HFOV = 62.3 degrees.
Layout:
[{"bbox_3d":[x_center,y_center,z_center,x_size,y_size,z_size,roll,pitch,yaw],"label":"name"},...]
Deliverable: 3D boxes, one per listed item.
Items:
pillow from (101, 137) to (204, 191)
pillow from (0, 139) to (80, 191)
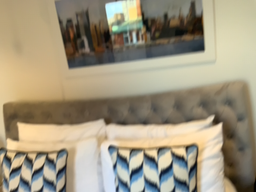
[{"bbox_3d":[0.140,0.450,1.070,0.440,0.370,0.190,-12,4,11],"label":"pillow"},{"bbox_3d":[-0.550,0.500,1.230,0.430,0.380,0.210,-14,1,14],"label":"pillow"}]
